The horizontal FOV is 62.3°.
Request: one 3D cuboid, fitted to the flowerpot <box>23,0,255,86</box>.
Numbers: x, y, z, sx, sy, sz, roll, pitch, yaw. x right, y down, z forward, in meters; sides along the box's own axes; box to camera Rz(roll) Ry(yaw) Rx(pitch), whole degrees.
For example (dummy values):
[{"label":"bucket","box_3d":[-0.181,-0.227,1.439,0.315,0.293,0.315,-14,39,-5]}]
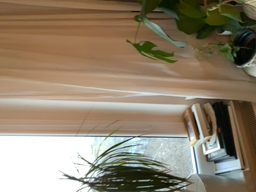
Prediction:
[{"label":"flowerpot","box_3d":[0.160,-0.470,0.770,0.630,0.890,0.590,114,158,-65]}]
